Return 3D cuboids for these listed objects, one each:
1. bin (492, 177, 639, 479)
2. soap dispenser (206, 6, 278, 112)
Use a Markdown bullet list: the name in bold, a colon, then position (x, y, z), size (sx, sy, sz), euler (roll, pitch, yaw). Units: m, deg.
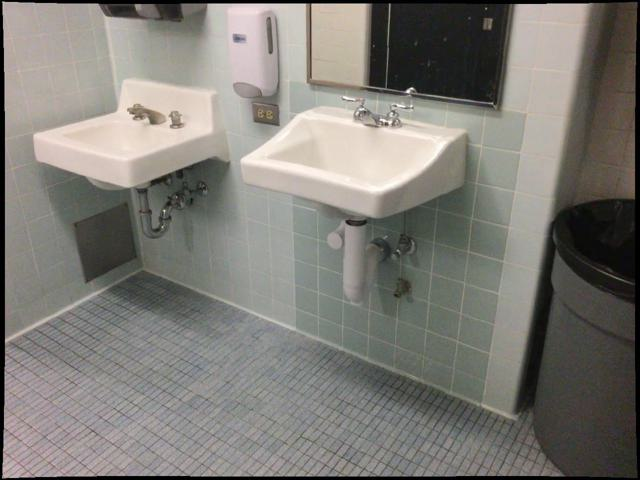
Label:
- **bin**: position (0.908, 0.301, 1.660), size (0.549, 0.701, 0.610), euler (16, 33, 29)
- **soap dispenser**: position (-0.249, -0.592, 1.880), size (0.180, 0.301, 0.110), euler (16, 33, 29)
